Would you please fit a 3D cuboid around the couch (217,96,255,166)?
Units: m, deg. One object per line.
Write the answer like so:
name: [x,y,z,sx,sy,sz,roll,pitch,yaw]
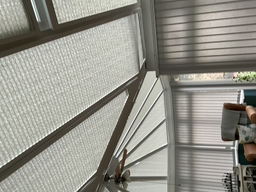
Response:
couch: [2.320,0.640,4.050,0.870,0.990,0.990,-60,-34,-61]
